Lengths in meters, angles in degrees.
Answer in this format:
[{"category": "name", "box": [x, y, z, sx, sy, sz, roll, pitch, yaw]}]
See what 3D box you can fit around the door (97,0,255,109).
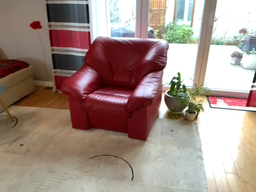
[{"category": "door", "box": [0.820, -1.100, 2.740, 2.480, 2.540, 0.180, 5, 25, 9]}]
